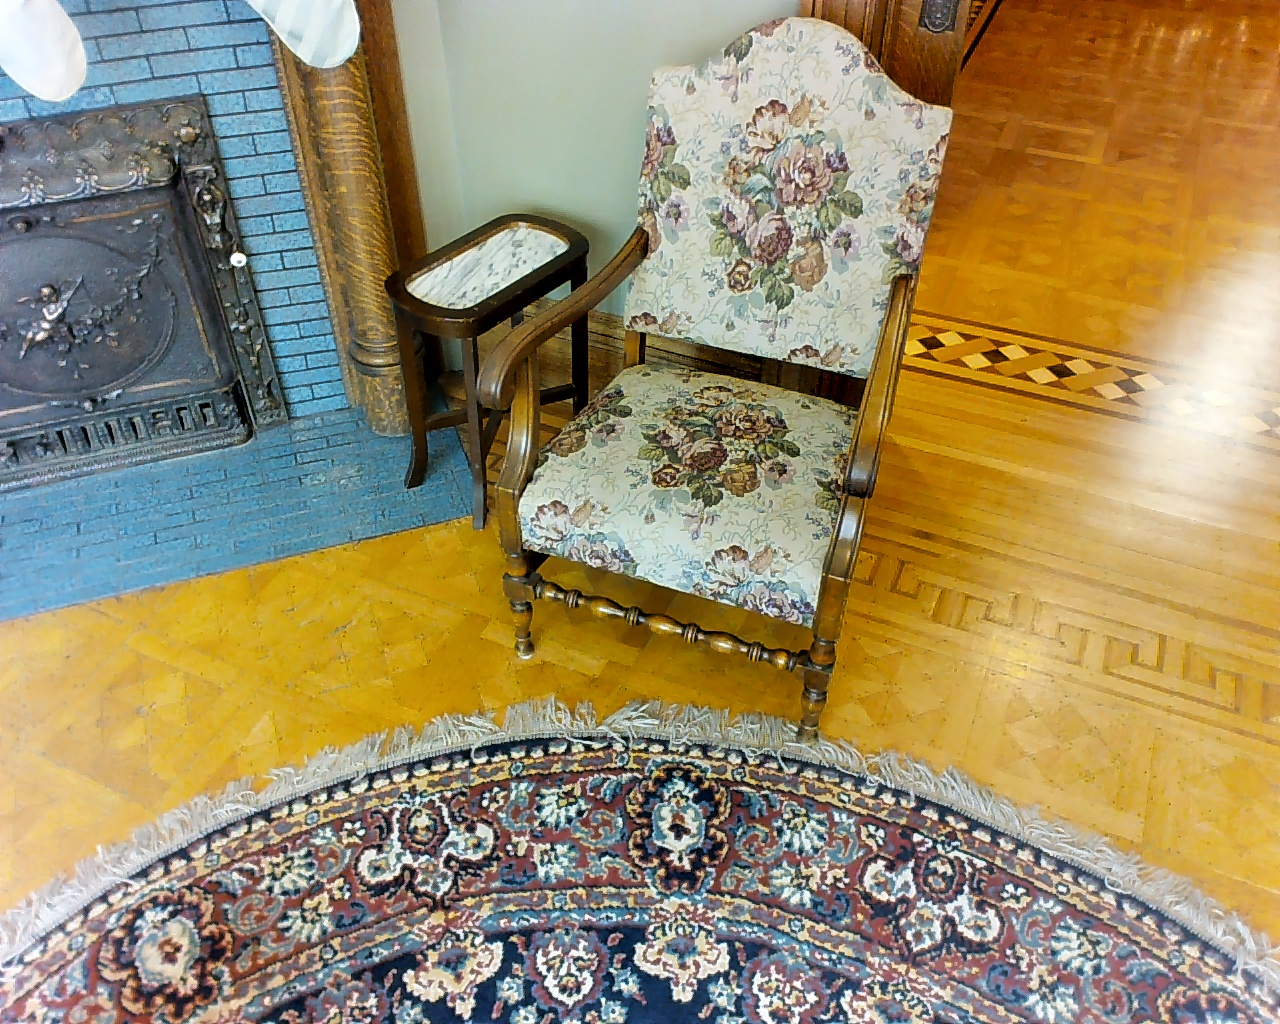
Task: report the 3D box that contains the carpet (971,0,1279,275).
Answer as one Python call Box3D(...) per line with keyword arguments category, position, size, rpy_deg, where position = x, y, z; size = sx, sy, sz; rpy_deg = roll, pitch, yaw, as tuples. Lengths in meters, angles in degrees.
Box3D(category="carpet", position=(2.720, -1.410, 3.900), size=(2.570, 0.020, 2.630), rpy_deg=(15, 45, 16))
